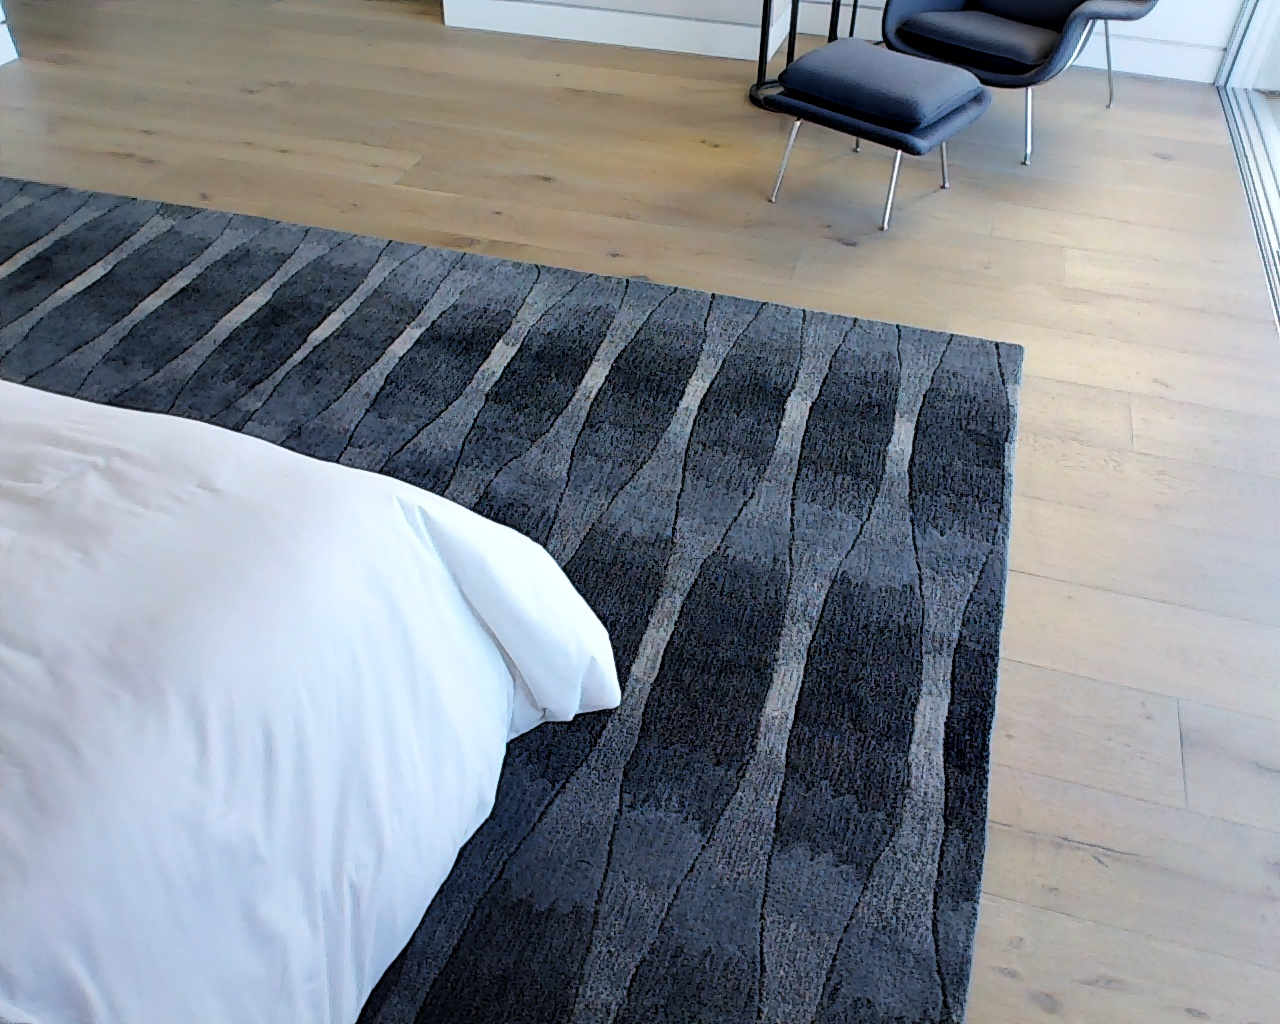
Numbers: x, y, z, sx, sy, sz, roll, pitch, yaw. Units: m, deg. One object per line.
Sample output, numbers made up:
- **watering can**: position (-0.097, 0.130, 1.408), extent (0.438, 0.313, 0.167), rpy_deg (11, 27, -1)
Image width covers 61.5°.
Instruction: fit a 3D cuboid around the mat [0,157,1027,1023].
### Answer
- **mat**: position (-1.120, 0.000, 2.330), extent (3.680, 0.040, 2.810), rpy_deg (12, 43, 13)
